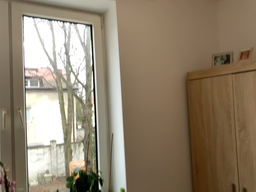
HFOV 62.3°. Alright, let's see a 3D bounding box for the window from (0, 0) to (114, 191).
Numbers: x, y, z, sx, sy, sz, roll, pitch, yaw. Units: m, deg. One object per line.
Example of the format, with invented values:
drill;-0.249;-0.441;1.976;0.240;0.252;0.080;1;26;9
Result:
window;-0.850;0.110;1.520;1.490;1.780;0.220;-1;-3;-30
